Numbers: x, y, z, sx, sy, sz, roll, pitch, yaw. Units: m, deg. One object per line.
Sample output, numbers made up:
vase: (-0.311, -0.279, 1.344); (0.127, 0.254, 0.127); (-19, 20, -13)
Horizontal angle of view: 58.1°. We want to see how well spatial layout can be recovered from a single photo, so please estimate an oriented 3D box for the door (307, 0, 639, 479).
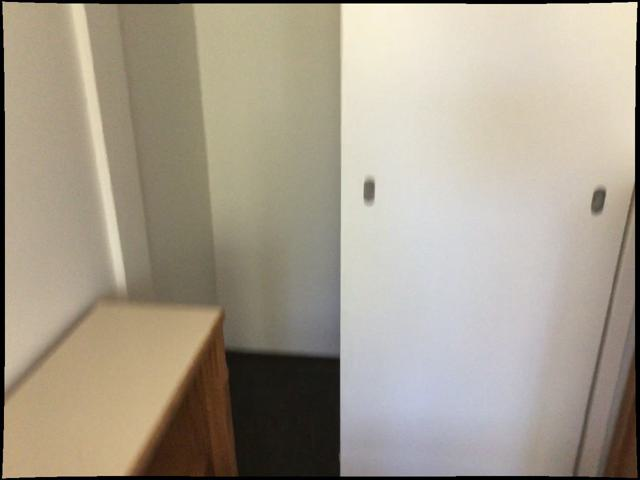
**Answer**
door: (0.339, 0.060, 1.370); (0.708, 1.663, 0.080); (3, 28, 7)
